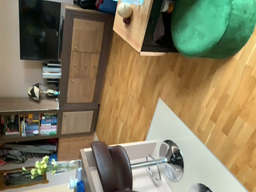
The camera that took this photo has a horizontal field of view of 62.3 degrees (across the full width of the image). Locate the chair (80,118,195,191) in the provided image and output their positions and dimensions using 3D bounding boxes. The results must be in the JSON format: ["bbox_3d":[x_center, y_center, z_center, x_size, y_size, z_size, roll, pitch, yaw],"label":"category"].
[{"bbox_3d":[0.050,0.630,2.090,0.620,0.860,0.500,-126,42,-50],"label":"chair"}]

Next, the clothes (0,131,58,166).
[{"bbox_3d":[-2.270,1.150,4.660,0.240,1.330,0.640,-123,40,-48],"label":"clothes"}]
